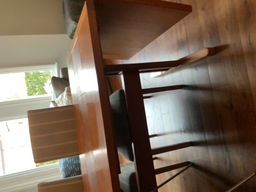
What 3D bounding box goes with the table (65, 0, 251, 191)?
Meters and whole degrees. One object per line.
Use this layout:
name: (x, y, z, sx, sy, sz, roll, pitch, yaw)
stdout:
table: (0.110, 0.380, 1.380, 0.910, 0.710, 1.700, 166, 96, -68)
